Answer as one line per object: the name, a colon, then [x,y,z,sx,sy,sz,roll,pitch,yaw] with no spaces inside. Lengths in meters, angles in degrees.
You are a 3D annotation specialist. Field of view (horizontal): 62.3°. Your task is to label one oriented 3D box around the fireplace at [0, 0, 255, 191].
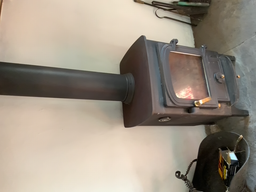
fireplace: [-0.010,-0.140,1.060,0.710,1.550,1.990,145,124,-60]
